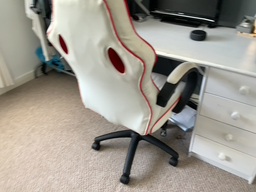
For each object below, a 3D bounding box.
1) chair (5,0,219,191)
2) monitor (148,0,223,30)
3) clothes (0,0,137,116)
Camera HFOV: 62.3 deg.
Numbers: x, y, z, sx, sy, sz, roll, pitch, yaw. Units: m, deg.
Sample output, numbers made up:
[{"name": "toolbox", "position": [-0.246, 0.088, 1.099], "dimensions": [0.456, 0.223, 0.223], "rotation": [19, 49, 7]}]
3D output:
[{"name": "chair", "position": [-0.010, -0.070, 1.150], "dimensions": [0.630, 1.190, 0.680], "rotation": [20, 41, 27]}, {"name": "monitor", "position": [0.380, -0.680, 1.470], "dimensions": [0.520, 0.340, 0.040], "rotation": [21, 41, 28]}, {"name": "clothes", "position": [-0.540, -0.610, 1.950], "dimensions": [1.070, 1.140, 0.620], "rotation": [20, 41, 27]}]
